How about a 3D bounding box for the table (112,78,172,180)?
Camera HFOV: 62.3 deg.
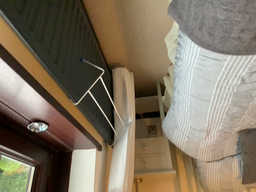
[{"bbox_3d":[0.120,0.300,1.890,0.430,0.770,0.410,-7,151,8],"label":"table"}]
